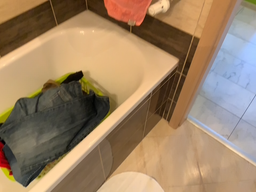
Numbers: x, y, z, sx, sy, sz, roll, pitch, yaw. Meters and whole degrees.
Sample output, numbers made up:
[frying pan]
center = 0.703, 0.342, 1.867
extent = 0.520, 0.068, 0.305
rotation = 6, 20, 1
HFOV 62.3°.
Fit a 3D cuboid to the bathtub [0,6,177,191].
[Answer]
[bathtub]
center = -0.550, 0.290, 1.080
extent = 0.680, 0.610, 1.650
rotation = 35, 60, 21
